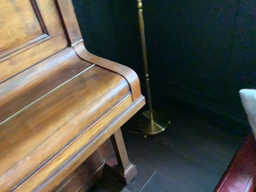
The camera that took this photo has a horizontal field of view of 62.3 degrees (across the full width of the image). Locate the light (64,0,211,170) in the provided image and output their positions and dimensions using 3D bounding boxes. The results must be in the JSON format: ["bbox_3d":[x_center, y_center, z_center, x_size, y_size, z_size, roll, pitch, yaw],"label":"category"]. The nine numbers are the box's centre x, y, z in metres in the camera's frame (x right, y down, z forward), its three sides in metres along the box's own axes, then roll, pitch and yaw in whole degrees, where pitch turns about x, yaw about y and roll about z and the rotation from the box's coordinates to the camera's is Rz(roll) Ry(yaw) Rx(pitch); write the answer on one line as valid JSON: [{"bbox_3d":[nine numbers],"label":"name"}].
[{"bbox_3d":[0.040,-0.370,1.090,0.420,1.600,0.570,-35,45,-27],"label":"light"}]
